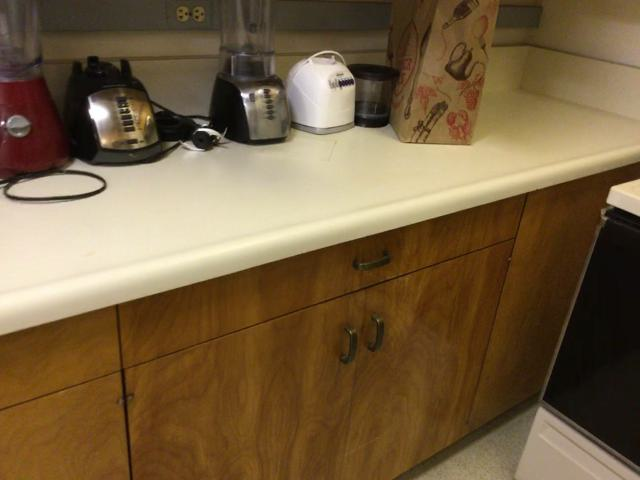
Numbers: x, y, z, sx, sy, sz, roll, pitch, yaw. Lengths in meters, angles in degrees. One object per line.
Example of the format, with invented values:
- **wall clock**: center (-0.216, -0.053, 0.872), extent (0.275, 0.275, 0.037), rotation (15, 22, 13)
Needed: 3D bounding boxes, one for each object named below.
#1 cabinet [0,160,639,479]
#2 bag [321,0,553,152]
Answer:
- **cabinet**: center (0.000, 0.370, 1.200), extent (2.760, 0.800, 0.070), rotation (-14, 32, -35)
- **bag**: center (0.280, -0.510, 1.500), extent (0.310, 0.410, 0.460), rotation (-14, 32, -35)
